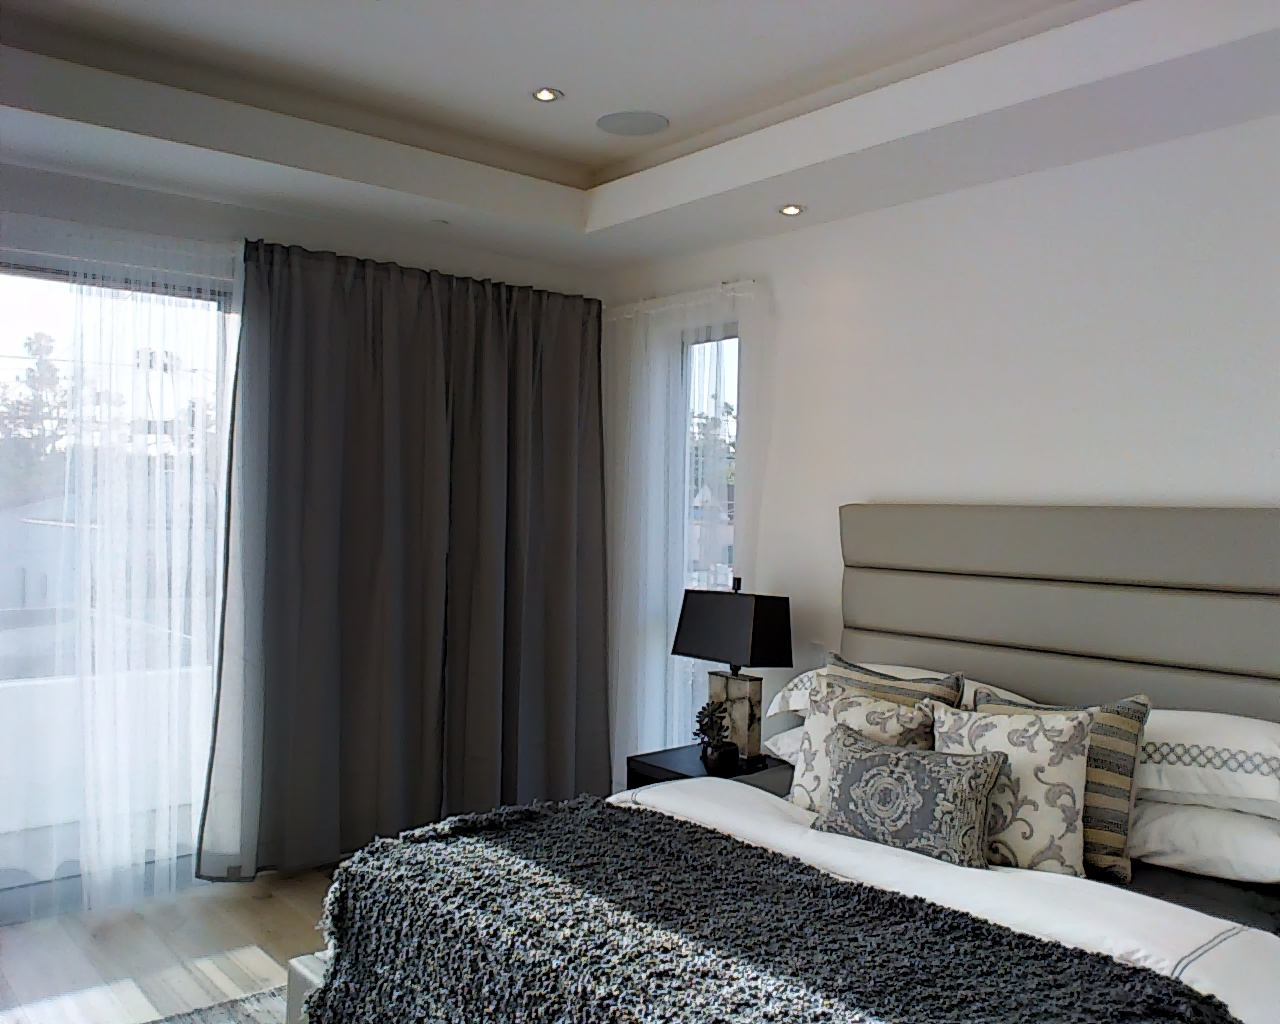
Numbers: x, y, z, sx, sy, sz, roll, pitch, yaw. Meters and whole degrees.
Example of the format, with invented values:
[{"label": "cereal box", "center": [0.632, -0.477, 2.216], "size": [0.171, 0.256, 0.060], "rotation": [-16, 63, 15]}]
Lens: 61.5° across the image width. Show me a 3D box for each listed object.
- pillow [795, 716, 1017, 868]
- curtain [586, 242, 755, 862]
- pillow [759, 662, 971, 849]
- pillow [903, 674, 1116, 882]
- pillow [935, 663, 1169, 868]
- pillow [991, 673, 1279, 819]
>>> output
[{"label": "pillow", "center": [0.700, 0.730, 2.880], "size": [0.220, 0.260, 0.540], "rotation": [0, 0, -44]}, {"label": "curtain", "center": [0.120, 0.170, 5.050], "size": [0.200, 2.671, 0.930], "rotation": [0, 0, -40]}, {"label": "pillow", "center": [0.650, 0.690, 3.170], "size": [0.290, 0.410, 0.550], "rotation": [0, 0, -38]}, {"label": "pillow", "center": [0.970, 0.680, 2.850], "size": [0.260, 0.420, 0.460], "rotation": [0, 0, -40]}, {"label": "pillow", "center": [1.149, 0.690, 3.040], "size": [0.230, 0.440, 0.570], "rotation": [0, 0, -42]}, {"label": "pillow", "center": [1.529, 0.640, 3.020], "size": [0.440, 0.220, 0.940], "rotation": [0, 0, -40]}]
